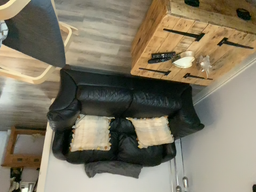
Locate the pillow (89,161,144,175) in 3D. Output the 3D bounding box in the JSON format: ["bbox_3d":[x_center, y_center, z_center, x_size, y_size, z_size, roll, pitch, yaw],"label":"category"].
[{"bbox_3d":[-0.150,0.950,2.780,0.700,0.150,0.190,5,155,-10],"label":"pillow"}]

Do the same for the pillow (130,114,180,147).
[{"bbox_3d":[0.350,0.460,2.700,0.490,0.260,0.490,-11,154,24],"label":"pillow"}]

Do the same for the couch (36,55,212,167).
[{"bbox_3d":[-0.090,0.310,2.620,1.680,0.930,1.060,6,155,-13],"label":"couch"}]

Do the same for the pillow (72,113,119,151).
[{"bbox_3d":[-0.390,0.430,2.560,0.510,0.410,0.200,5,172,-14],"label":"pillow"}]
